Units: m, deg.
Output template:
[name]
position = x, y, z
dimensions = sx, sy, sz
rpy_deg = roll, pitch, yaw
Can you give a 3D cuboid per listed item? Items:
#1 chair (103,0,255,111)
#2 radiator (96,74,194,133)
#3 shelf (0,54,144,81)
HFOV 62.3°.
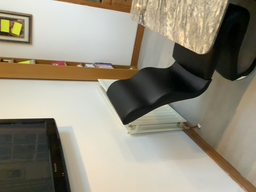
[chair]
position = 0.420, -0.310, 1.450
dimensions = 0.440, 1.000, 0.650
rpy_deg = 49, 133, 53
[radiator]
position = 0.120, 0.020, 2.310
dimensions = 0.980, 0.670, 0.150
rpy_deg = 49, 133, 53
[shelf]
position = -0.750, -0.340, 2.650
dimensions = 0.210, 2.030, 0.190
rpy_deg = 49, 133, 53
